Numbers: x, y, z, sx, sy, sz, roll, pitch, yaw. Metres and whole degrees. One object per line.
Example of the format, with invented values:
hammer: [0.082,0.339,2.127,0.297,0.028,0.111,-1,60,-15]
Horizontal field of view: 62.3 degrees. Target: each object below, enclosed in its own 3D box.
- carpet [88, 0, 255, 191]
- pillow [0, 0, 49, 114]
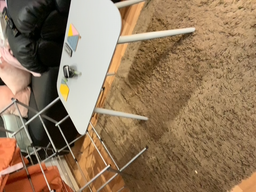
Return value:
carpet: [0.180,0.110,1.300,1.040,0.040,1.510,49,132,31]
pillow: [-0.870,-0.300,1.630,0.530,0.260,0.660,51,133,30]
